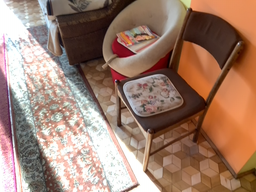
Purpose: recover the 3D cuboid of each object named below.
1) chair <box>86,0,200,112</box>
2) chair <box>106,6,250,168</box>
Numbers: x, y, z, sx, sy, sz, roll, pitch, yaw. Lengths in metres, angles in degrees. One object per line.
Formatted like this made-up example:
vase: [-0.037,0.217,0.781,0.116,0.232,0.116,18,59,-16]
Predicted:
chair: [0.080,-0.410,1.830,0.640,0.700,0.650,-16,47,-14]
chair: [0.230,-0.020,1.330,0.560,0.830,0.410,-17,47,-14]
